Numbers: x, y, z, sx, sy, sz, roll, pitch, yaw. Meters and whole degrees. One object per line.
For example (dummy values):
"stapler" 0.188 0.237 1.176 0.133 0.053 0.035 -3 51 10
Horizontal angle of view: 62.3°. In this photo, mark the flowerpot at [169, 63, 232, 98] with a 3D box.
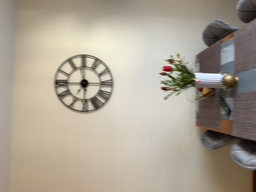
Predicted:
"flowerpot" 0.550 -0.120 1.650 0.210 0.400 0.240 -138 49 -85
